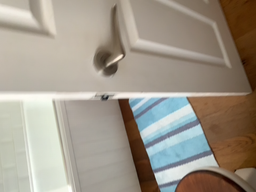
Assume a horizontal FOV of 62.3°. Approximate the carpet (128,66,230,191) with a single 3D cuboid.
[{"bbox_3d":[0.260,0.270,1.290,0.450,0.001,0.780,-36,65,41],"label":"carpet"}]
